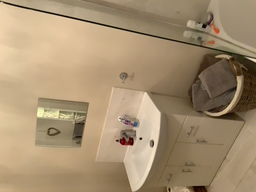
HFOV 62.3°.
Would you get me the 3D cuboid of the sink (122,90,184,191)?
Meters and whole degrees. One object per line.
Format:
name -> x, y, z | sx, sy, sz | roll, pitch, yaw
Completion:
sink -> 0.170, 0.460, 1.920 | 0.500, 0.150, 0.890 | -117, 38, -58
